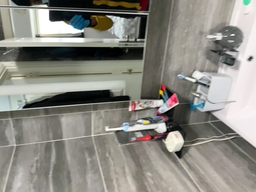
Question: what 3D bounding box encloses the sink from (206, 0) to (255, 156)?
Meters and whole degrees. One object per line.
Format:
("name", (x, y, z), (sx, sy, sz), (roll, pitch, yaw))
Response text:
("sink", (0.540, -0.090, 0.770), (0.450, 0.120, 0.620), (-127, 37, -59))
